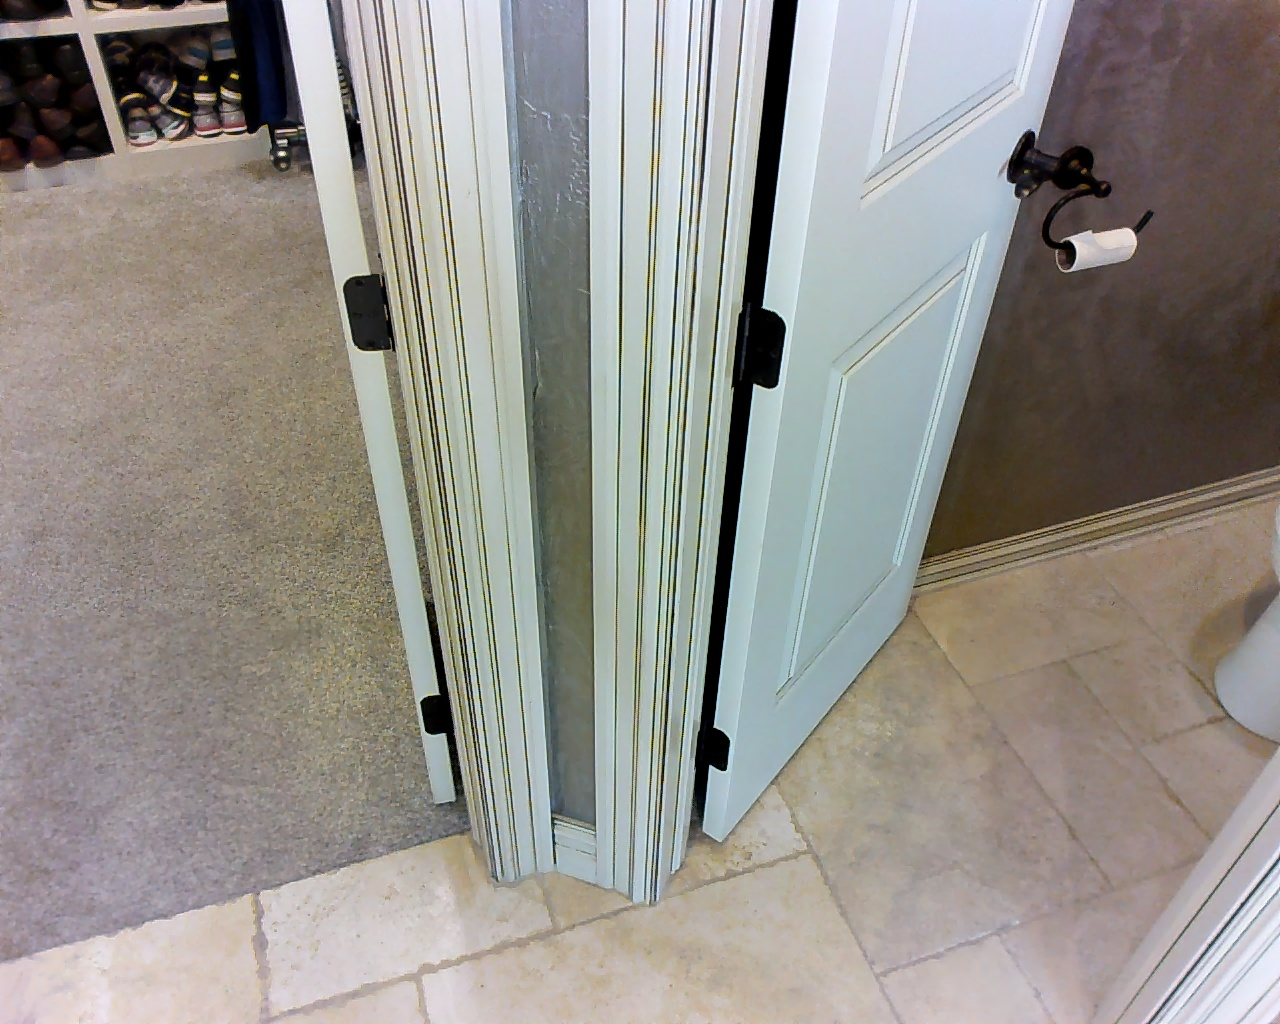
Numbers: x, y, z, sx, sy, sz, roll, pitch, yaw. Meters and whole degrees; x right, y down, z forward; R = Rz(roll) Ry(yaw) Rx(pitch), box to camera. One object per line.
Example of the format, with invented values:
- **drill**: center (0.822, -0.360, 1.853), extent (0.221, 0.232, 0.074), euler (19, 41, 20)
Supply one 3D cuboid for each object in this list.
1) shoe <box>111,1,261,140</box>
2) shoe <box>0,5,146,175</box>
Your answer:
- **shoe**: center (-1.390, -1.360, 3.300), extent (0.350, 0.310, 0.220), euler (-12, 44, -14)
- **shoe**: center (-1.720, -1.230, 3.130), extent (0.410, 0.390, 0.160), euler (-13, 44, -15)
